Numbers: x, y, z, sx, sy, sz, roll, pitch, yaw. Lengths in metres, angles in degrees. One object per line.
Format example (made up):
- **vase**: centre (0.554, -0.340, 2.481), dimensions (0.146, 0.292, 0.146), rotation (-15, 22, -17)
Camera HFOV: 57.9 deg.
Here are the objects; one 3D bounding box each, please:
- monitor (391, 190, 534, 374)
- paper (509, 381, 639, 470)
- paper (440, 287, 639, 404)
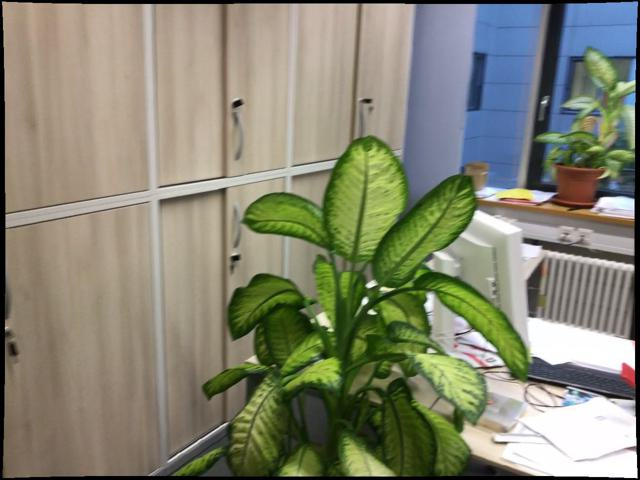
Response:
- **monitor**: centre (0.430, 0.110, 1.870), dimensions (0.230, 0.460, 0.440), rotation (-1, 17, -13)
- **paper**: centre (0.719, 0.480, 1.540), dimensions (0.350, 0.030, 0.230), rotation (-7, 19, -28)
- **paper**: centre (0.779, 0.330, 2.000), dimensions (0.570, 0.070, 0.490), rotation (13, 19, 31)
